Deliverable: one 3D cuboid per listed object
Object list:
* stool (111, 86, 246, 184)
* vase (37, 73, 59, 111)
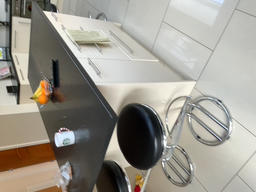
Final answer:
[{"bbox_3d":[0.320,0.200,1.360,0.360,0.710,0.360,49,131,41],"label":"stool"},{"bbox_3d":[-0.660,-0.040,1.740,0.220,0.100,0.230,43,127,44],"label":"vase"}]
